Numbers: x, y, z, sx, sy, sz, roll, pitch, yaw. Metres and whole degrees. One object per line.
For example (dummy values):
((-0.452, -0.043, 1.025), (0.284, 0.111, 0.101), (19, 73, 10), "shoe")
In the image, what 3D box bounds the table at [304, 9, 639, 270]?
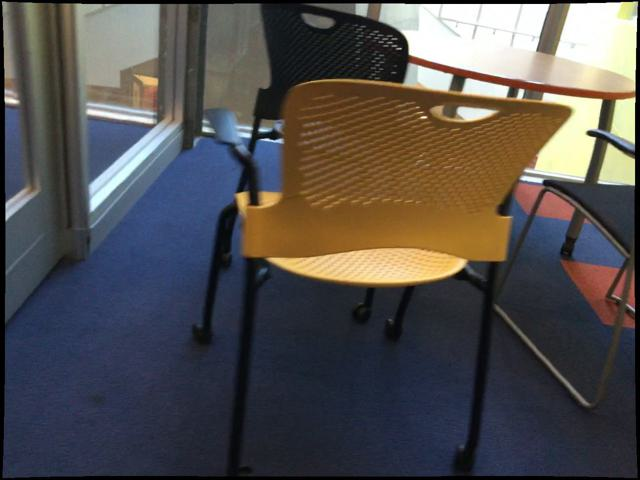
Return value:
((0.659, -0.460, 2.430), (1.119, 0.681, 1.070), (-1, 29, -19), "table")

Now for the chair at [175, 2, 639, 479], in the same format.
((0.080, 0.020, 1.170), (0.629, 0.791, 0.590), (6, 27, -8), "chair")

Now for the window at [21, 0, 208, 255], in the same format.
((-0.649, -0.761, 2.100), (0.200, 1.121, 1.310), (9, 27, -2), "window")
